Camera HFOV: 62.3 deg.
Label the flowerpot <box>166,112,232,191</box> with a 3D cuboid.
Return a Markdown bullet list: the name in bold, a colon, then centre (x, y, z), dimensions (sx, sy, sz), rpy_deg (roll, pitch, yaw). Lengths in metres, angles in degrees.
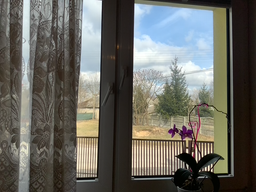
- **flowerpot**: centre (0.400, 0.390, 1.220), dimensions (0.310, 0.590, 0.180), rpy_deg (2, -3, -11)
